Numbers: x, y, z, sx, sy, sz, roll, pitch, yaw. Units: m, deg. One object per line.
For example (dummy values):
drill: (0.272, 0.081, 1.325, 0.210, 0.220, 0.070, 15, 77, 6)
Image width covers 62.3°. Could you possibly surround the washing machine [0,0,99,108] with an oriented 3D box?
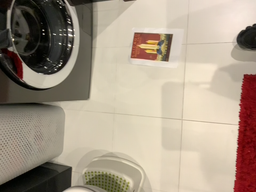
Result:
washing machine: (-0.580, -0.300, 1.000, 0.510, 0.830, 0.640, 5, 92, 21)
